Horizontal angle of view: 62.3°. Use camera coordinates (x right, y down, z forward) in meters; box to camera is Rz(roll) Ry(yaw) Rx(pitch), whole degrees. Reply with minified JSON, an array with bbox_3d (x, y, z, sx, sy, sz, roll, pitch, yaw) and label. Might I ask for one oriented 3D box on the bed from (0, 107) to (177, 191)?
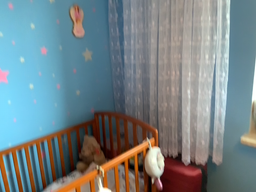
[{"bbox_3d":[-0.430,0.760,1.450,1.440,0.940,0.830,-15,19,-43],"label":"bed"}]
